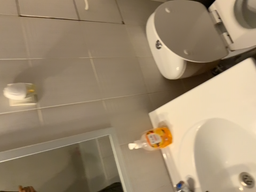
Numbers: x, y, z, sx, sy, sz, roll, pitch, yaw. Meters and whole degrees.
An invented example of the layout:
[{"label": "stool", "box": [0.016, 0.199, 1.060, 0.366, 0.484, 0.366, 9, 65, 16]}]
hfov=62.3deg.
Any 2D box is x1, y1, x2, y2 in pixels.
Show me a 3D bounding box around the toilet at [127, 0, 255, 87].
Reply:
[{"label": "toilet", "box": [0.550, -0.400, 1.070, 0.670, 0.820, 0.390, -39, 65, 52]}]
